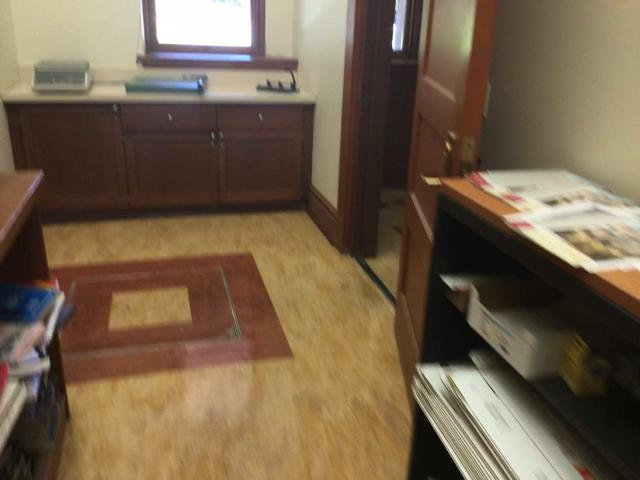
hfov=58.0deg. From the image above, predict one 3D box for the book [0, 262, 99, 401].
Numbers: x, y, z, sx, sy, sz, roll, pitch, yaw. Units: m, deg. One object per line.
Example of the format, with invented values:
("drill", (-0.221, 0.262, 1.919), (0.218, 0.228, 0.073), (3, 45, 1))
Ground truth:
("book", (-0.840, 0.240, 1.670), (0.320, 0.140, 0.550), (-2, 20, -15))
